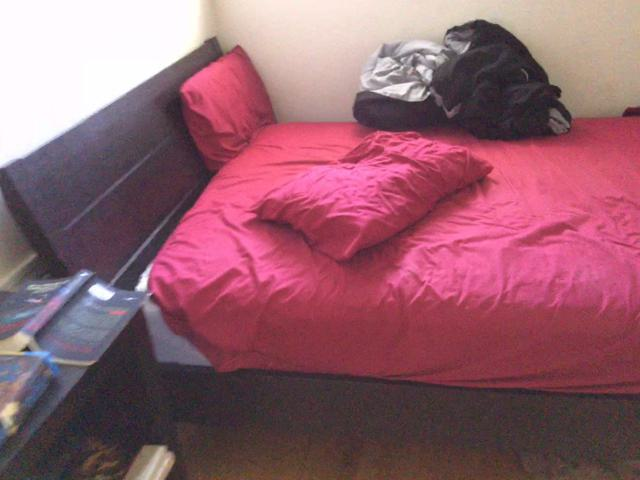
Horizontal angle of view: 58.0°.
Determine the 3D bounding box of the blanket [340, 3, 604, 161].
[{"bbox_3d":[0.560,-0.600,2.200,0.840,0.440,0.470,1,27,16],"label":"blanket"}]
